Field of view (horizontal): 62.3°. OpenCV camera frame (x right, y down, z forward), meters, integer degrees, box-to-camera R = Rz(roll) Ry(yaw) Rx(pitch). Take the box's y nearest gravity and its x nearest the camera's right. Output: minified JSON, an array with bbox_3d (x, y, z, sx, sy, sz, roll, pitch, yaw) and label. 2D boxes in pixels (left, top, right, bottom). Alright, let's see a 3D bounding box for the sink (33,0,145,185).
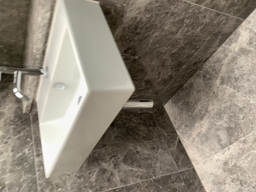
[{"bbox_3d":[-0.210,0.020,0.770,0.600,0.150,0.380,-55,47,43],"label":"sink"}]
